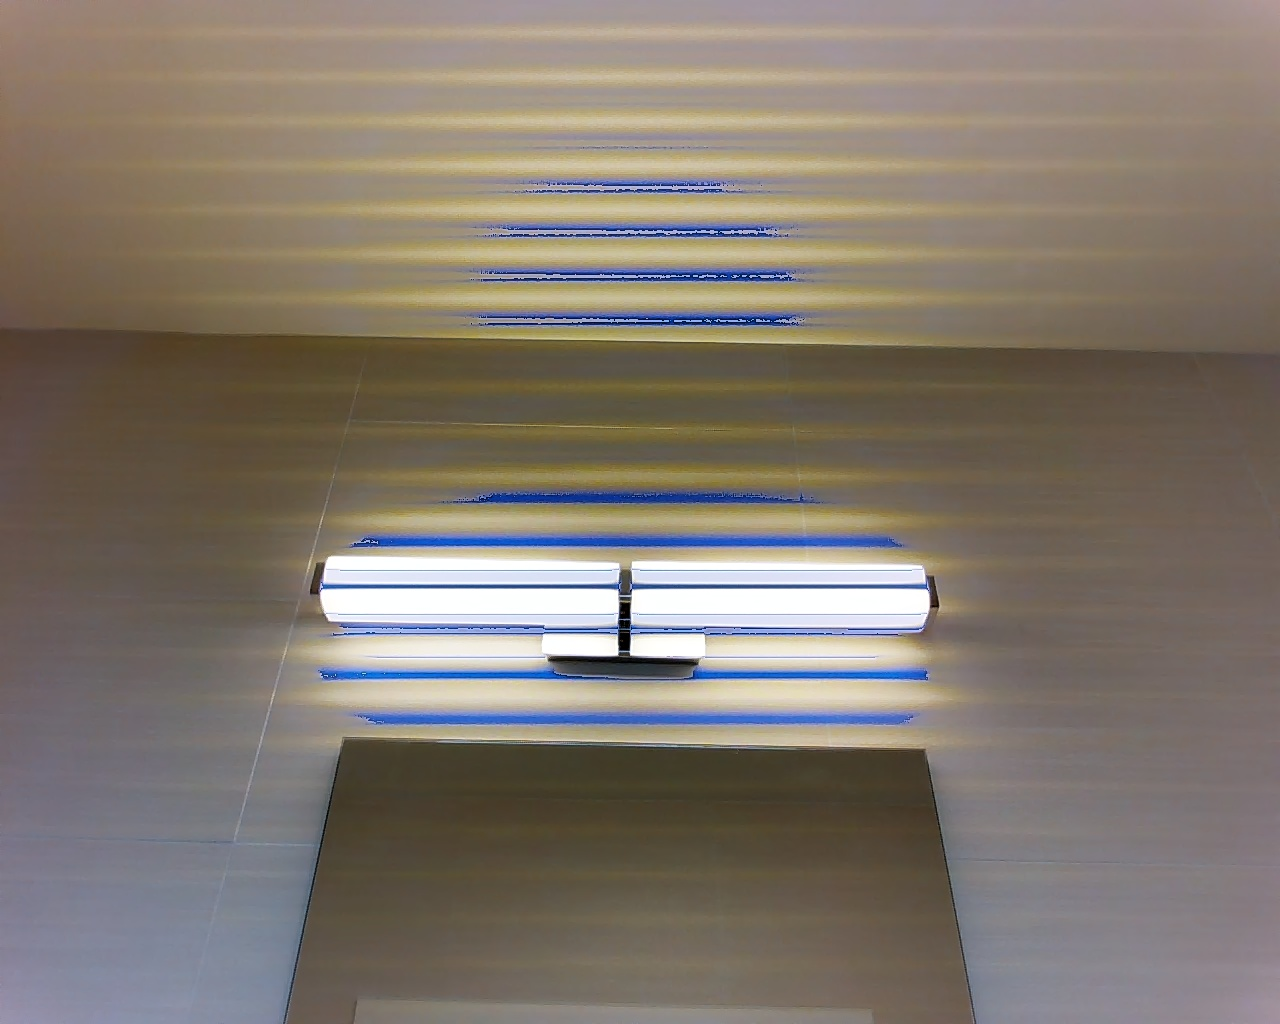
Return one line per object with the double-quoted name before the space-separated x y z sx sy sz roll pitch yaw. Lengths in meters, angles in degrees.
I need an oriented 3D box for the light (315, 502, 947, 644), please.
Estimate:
"light" -0.010 0.070 1.250 0.690 0.120 0.090 1 -41 0
